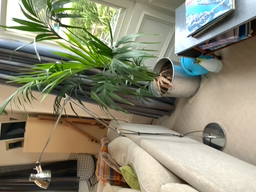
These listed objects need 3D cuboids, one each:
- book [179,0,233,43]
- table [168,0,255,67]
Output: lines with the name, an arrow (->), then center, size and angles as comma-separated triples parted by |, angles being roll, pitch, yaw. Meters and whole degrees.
book -> 0.470, -0.550, 1.320 | 0.360, 0.080, 0.310 | 164, 112, -64
table -> 0.690, -0.580, 1.430 | 0.840, 0.400, 0.480 | 160, 116, -63
